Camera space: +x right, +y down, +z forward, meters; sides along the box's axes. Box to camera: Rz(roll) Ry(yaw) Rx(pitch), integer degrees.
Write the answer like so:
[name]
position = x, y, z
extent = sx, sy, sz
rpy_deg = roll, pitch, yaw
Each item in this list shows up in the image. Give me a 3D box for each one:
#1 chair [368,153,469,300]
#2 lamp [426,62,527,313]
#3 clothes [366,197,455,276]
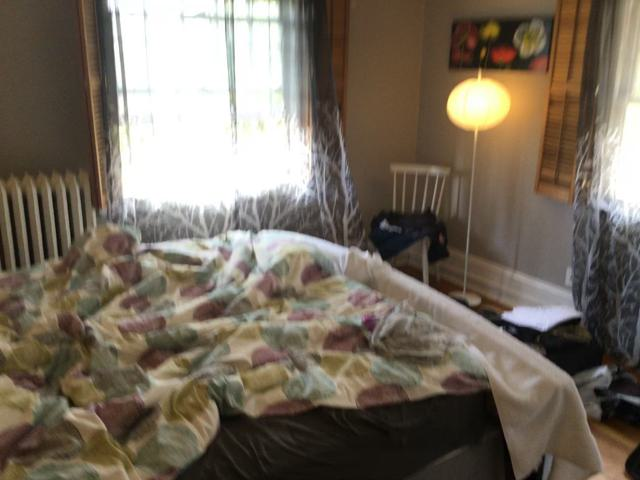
[chair]
position = 0.650, -0.110, 3.850
extent = 0.520, 0.840, 0.430
rpy_deg = 9, 20, 28
[lamp]
position = 0.920, -0.320, 3.480
extent = 0.350, 1.430, 0.350
rpy_deg = -12, 21, -32
[clothes]
position = 0.600, -0.040, 3.790
extent = 0.450, 0.350, 0.480
rpy_deg = 7, 19, 23
